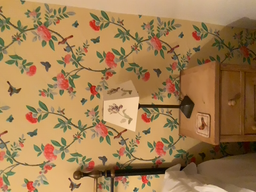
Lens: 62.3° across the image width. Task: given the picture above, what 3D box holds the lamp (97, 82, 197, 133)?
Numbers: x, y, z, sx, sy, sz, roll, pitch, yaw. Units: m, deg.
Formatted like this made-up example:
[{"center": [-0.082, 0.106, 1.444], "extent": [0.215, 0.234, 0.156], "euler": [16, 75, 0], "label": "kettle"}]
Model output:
[{"center": [0.080, 0.060, 1.100], "extent": [0.270, 0.450, 0.220], "euler": [175, 97, -76], "label": "lamp"}]
